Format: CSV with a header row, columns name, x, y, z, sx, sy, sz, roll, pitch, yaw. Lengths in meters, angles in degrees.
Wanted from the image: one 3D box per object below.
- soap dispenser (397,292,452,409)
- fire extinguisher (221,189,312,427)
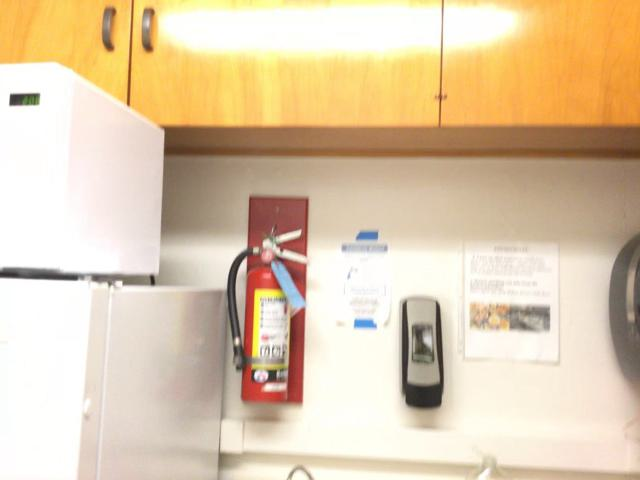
name,x,y,z,sx,sy,sz,roll,pitch,yaw
soap dispenser,0.240,0.250,1.340,0.110,0.250,0.100,2,-2,6
fire extinguisher,-0.120,0.150,1.360,0.170,0.520,0.150,2,-2,6
